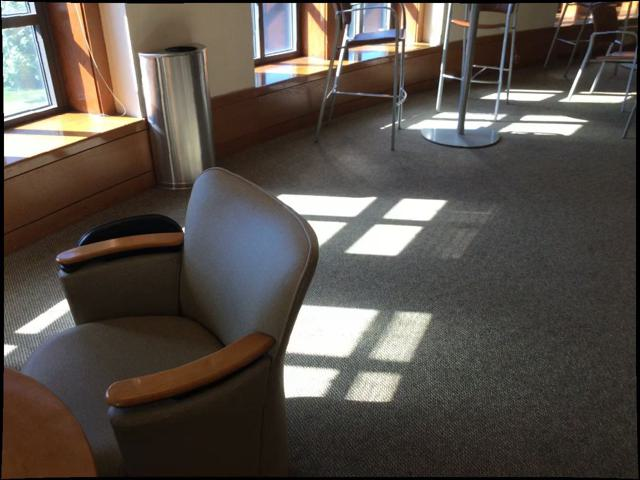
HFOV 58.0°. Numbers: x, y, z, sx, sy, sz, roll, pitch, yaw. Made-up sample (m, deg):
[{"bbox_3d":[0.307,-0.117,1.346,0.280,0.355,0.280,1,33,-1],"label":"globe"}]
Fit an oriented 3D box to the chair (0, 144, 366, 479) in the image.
[{"bbox_3d":[-0.379,0.301,1.520,0.679,0.842,0.750,-18,30,-29],"label":"chair"}]
